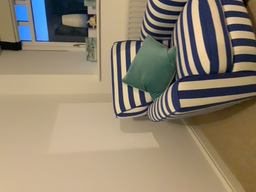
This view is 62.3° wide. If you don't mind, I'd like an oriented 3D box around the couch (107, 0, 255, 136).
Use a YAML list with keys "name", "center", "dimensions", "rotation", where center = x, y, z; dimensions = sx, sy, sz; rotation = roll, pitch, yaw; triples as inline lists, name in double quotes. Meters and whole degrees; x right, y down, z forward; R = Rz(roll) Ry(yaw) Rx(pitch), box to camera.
- name: "couch"
  center: [0.310, -0.210, 1.600]
  dimensions: [0.930, 0.840, 0.900]
  rotation: [123, 145, -72]
